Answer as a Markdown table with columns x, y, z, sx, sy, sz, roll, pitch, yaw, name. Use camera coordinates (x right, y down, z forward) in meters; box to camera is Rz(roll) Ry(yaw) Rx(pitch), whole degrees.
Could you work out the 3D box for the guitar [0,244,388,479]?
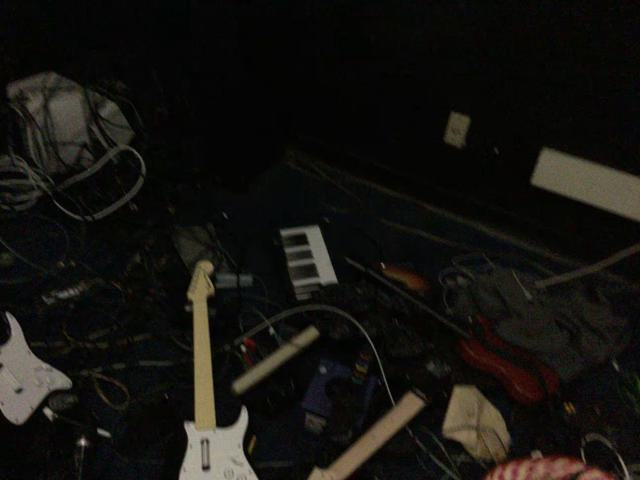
| x | y | z | sx | sy | sz | roll | pitch | yaw | name |
| --- | --- | --- | --- | --- | --- | --- | --- | --- | --- |
| -0.310 | 0.350 | 1.480 | 0.720 | 0.110 | 0.700 | 23 | 39 | 23 | guitar |
